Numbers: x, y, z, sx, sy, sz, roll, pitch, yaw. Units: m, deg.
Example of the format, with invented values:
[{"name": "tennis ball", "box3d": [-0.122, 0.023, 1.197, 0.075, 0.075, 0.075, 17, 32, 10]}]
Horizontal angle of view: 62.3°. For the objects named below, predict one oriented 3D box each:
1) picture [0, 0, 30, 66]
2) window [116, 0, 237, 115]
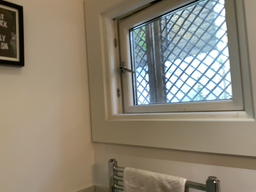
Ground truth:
[{"name": "picture", "box3d": [-0.510, -0.260, 0.850, 0.040, 0.250, 0.210, -5, -3, 41]}, {"name": "window", "box3d": [0.190, -0.210, 1.070, 0.610, 0.610, 0.050, -5, -3, 41]}]
